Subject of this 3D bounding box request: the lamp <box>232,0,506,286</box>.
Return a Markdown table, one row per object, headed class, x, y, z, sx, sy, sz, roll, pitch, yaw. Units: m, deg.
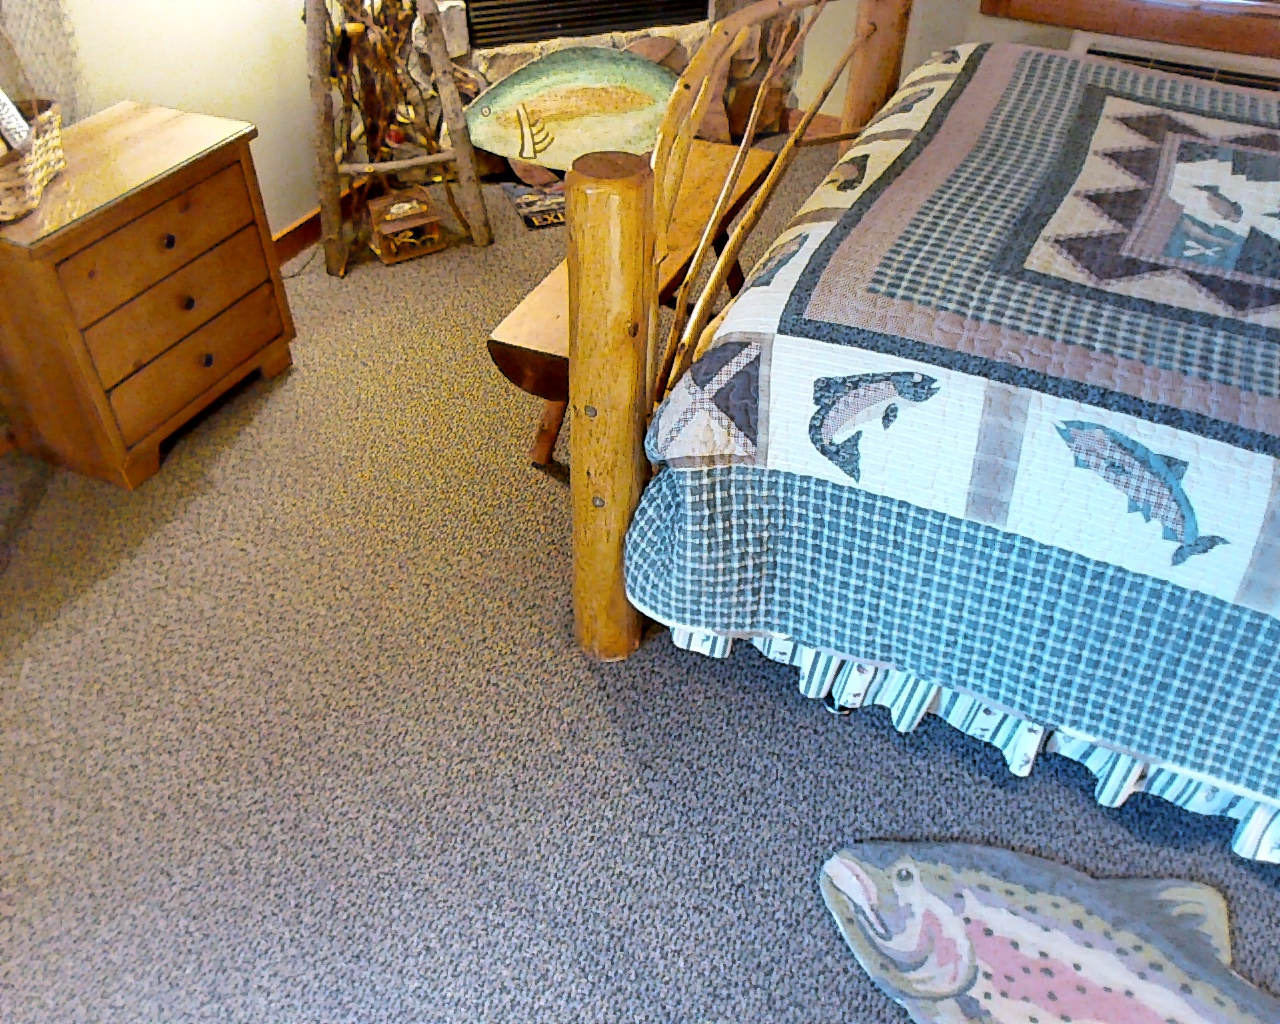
| class | x | y | z | sx | sy | sz | roll | pitch | yaw |
| --- | --- | --- | --- | --- | --- | --- | --- | --- | --- |
| lamp | -0.760 | -1.360 | 2.930 | 0.540 | 1.290 | 0.450 | -25 | 47 | -26 |
